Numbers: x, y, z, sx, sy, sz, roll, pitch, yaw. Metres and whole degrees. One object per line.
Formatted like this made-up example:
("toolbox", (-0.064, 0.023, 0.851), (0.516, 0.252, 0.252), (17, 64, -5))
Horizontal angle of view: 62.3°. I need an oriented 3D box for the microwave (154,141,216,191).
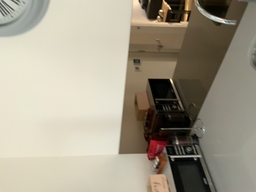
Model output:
("microwave", (0.370, 0.600, 1.450), (0.460, 0.250, 0.340), (-98, 11, -48))
